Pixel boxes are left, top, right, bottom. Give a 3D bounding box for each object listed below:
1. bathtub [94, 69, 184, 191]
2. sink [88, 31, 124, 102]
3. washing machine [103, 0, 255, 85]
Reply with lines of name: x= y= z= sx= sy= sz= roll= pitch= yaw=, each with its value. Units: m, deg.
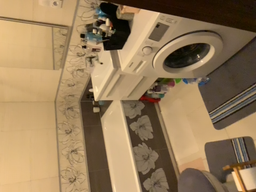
bathtub: x=0.090 y=0.720 z=2.540 sx=0.740 sy=0.530 sz=1.980 roll=-50 pitch=46 yaw=52
sink: x=-0.250 y=-0.270 z=2.120 sx=0.600 sy=0.110 sz=0.430 roll=-51 pitch=46 yaw=52
washing machine: x=0.360 y=-0.530 z=1.640 sx=0.650 sy=0.850 sz=0.630 roll=-51 pitch=46 yaw=52
